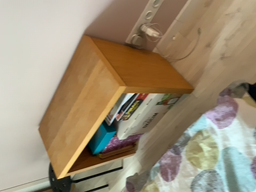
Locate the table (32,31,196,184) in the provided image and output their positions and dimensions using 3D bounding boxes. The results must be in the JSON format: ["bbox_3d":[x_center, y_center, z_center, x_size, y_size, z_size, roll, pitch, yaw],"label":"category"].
[{"bbox_3d":[-0.100,0.090,1.310,0.370,0.640,0.750,54,124,28],"label":"table"}]
